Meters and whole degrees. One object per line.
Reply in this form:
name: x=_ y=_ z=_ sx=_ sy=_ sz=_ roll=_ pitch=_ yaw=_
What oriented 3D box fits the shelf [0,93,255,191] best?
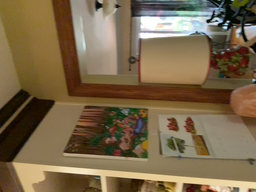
shelf: x=0.100 y=0.460 z=1.170 sx=0.520 sy=1.550 sz=0.690 roll=-79 pitch=-9 yaw=-58
